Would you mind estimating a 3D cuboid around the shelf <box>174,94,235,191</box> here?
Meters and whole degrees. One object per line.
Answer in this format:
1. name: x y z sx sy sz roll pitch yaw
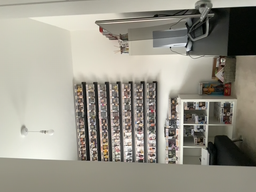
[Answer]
1. shelf: 1.160 0.720 3.370 0.410 0.770 1.470 -59 -32 -78
